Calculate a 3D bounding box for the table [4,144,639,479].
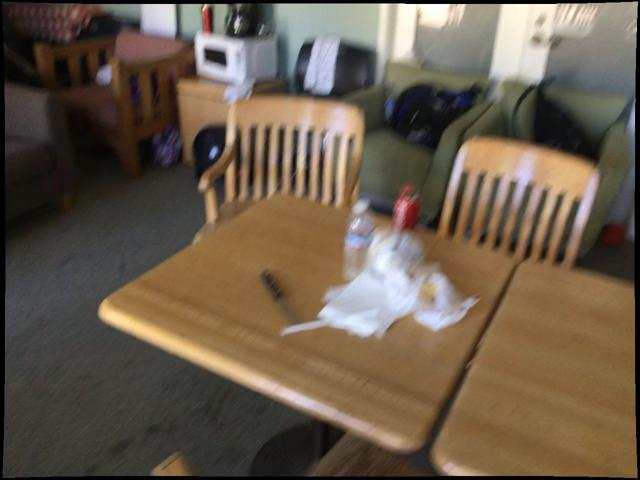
[{"bbox_3d":[0.280,0.460,1.370,1.639,0.841,0.880,17,34,26],"label":"table"}]
